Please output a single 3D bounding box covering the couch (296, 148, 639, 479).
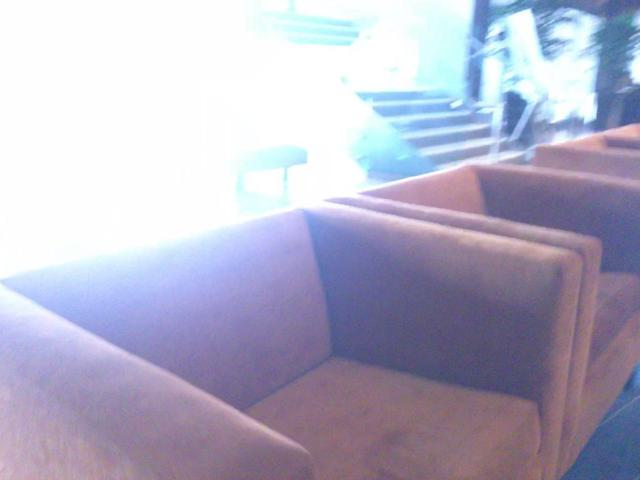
[{"bbox_3d":[0.610,0.180,1.950,0.840,0.780,1.090,11,22,37],"label":"couch"}]

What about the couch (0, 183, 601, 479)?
[{"bbox_3d":[-0.100,0.410,1.150,0.890,0.780,1.070,11,22,37],"label":"couch"}]
